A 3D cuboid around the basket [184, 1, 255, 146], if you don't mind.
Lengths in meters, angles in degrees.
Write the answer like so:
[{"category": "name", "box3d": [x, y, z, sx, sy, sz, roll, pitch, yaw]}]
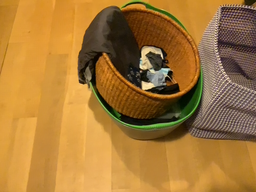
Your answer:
[{"category": "basket", "box3d": [0.470, -0.060, 0.830, 0.390, 0.380, 0.420, 3, 65, 2]}]
